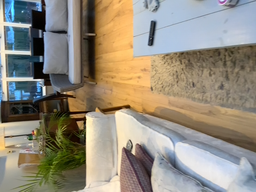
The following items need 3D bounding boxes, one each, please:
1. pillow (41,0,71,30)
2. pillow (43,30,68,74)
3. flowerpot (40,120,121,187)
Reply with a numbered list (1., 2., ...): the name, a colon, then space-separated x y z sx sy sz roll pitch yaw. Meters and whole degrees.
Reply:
1. pillow: -1.230 -1.510 3.620 0.150 0.450 0.720 -64 -25 -80
2. pillow: -1.270 -0.770 3.750 0.150 0.390 0.740 -139 50 -77
3. flowerpot: -0.630 0.680 2.770 0.590 0.910 0.550 16 106 63
